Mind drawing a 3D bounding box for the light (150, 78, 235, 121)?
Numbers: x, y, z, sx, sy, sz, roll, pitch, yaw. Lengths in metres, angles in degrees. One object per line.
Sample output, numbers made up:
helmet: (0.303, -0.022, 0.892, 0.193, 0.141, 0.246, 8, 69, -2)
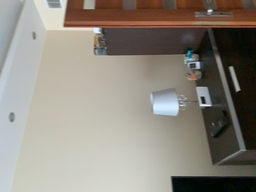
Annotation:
light: (0.460, 0.030, 1.630, 0.260, 0.550, 0.230, 92, 179, -61)
